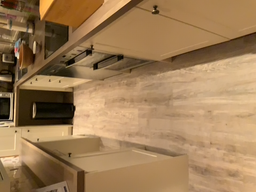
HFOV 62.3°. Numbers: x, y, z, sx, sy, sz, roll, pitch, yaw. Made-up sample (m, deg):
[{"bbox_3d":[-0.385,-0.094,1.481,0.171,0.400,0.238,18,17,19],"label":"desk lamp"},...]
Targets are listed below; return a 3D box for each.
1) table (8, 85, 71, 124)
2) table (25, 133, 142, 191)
[{"bbox_3d":[-1.530,0.170,3.690,0.550,0.900,0.590,-8,81,54],"label":"table"},{"bbox_3d":[-0.490,0.620,2.200,0.900,0.900,0.340,-7,82,54],"label":"table"}]
